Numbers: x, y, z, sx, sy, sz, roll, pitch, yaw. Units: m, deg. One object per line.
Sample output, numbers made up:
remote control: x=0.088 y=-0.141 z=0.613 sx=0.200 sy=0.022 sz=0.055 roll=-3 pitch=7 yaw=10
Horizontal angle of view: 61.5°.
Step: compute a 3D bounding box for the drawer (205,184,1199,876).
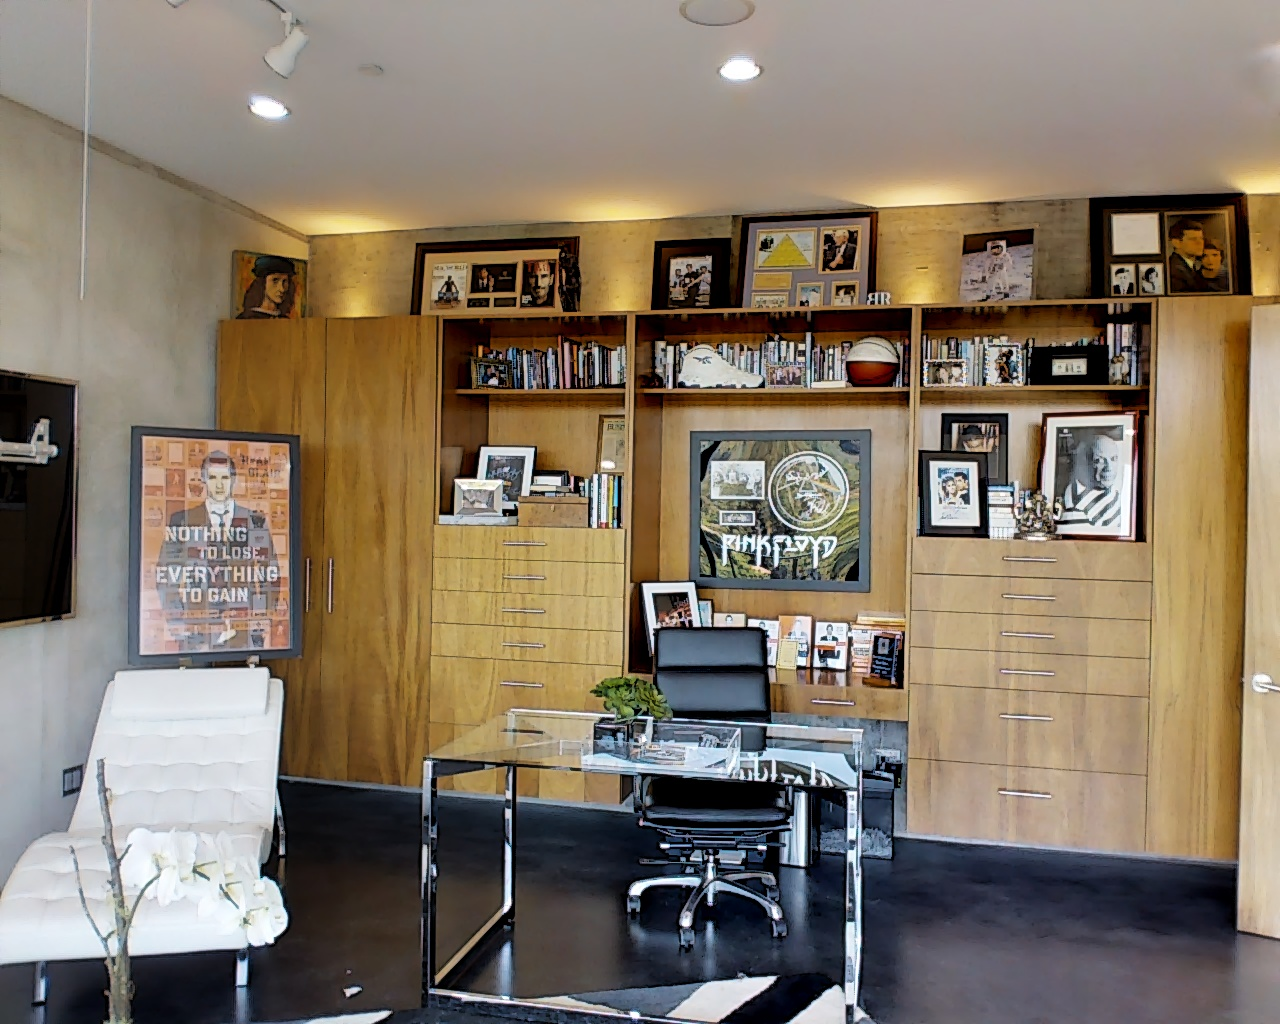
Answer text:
drawer: x=0.100 y=0.010 z=5.050 sx=4.370 sy=2.720 sz=0.640 roll=2 pitch=1 yaw=14
